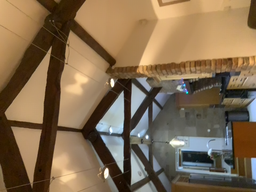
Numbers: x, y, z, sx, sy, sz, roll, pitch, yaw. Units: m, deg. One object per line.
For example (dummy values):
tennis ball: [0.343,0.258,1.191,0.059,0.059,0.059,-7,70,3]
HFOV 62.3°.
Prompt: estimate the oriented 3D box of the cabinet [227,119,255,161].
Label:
cabinet: [2.310,0.820,3.820,0.650,0.880,0.680,39,-127,-66]
